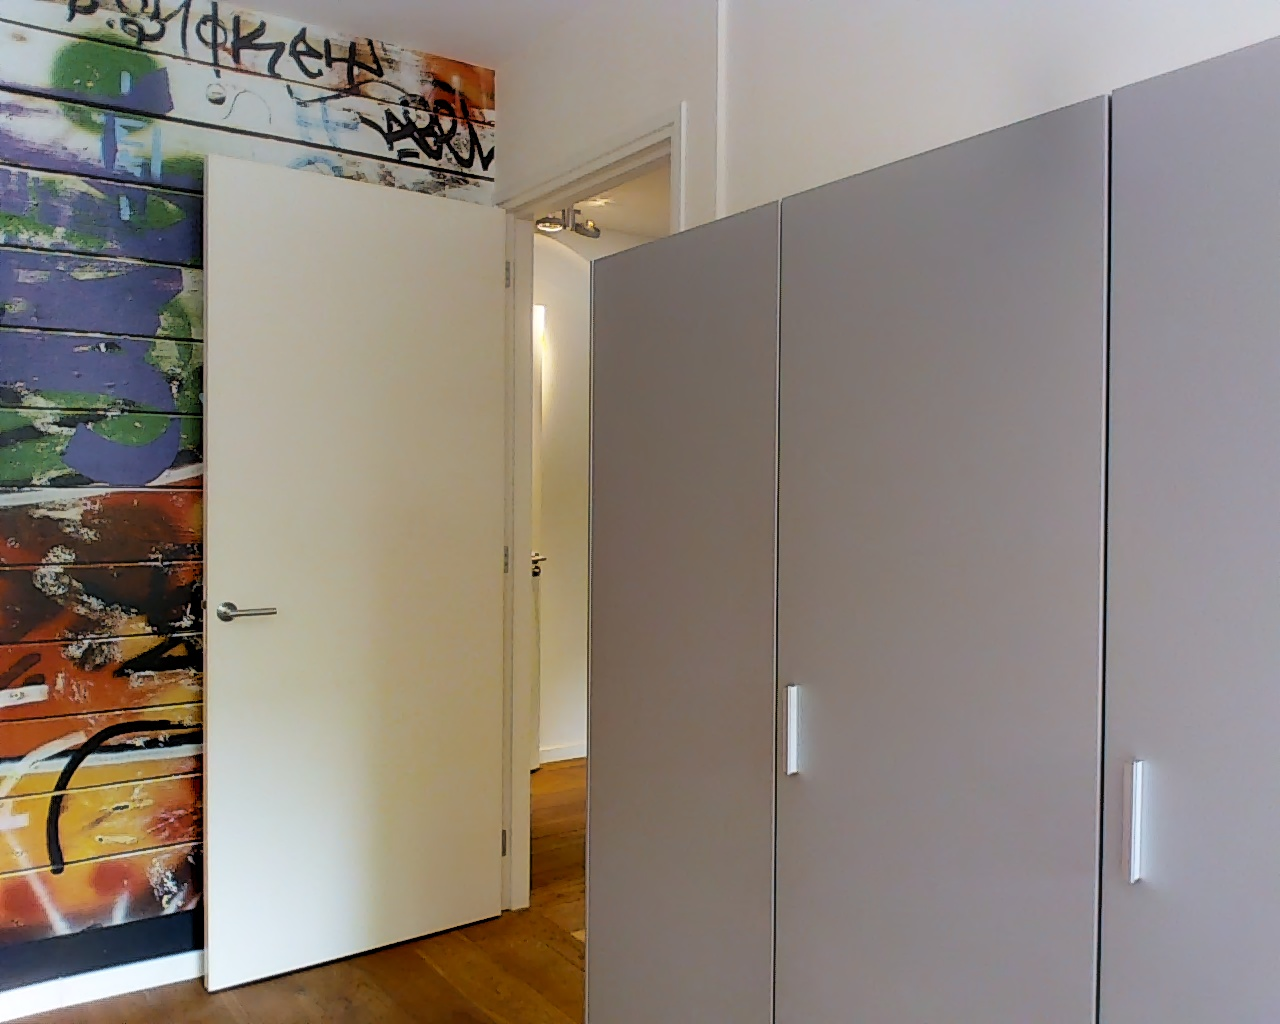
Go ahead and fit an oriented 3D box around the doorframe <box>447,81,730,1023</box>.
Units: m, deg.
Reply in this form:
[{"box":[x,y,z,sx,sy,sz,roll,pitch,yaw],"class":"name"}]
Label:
[{"box":[-0.200,0.130,3.160,0.290,2.380,1.060,0,1,-35],"class":"doorframe"}]
